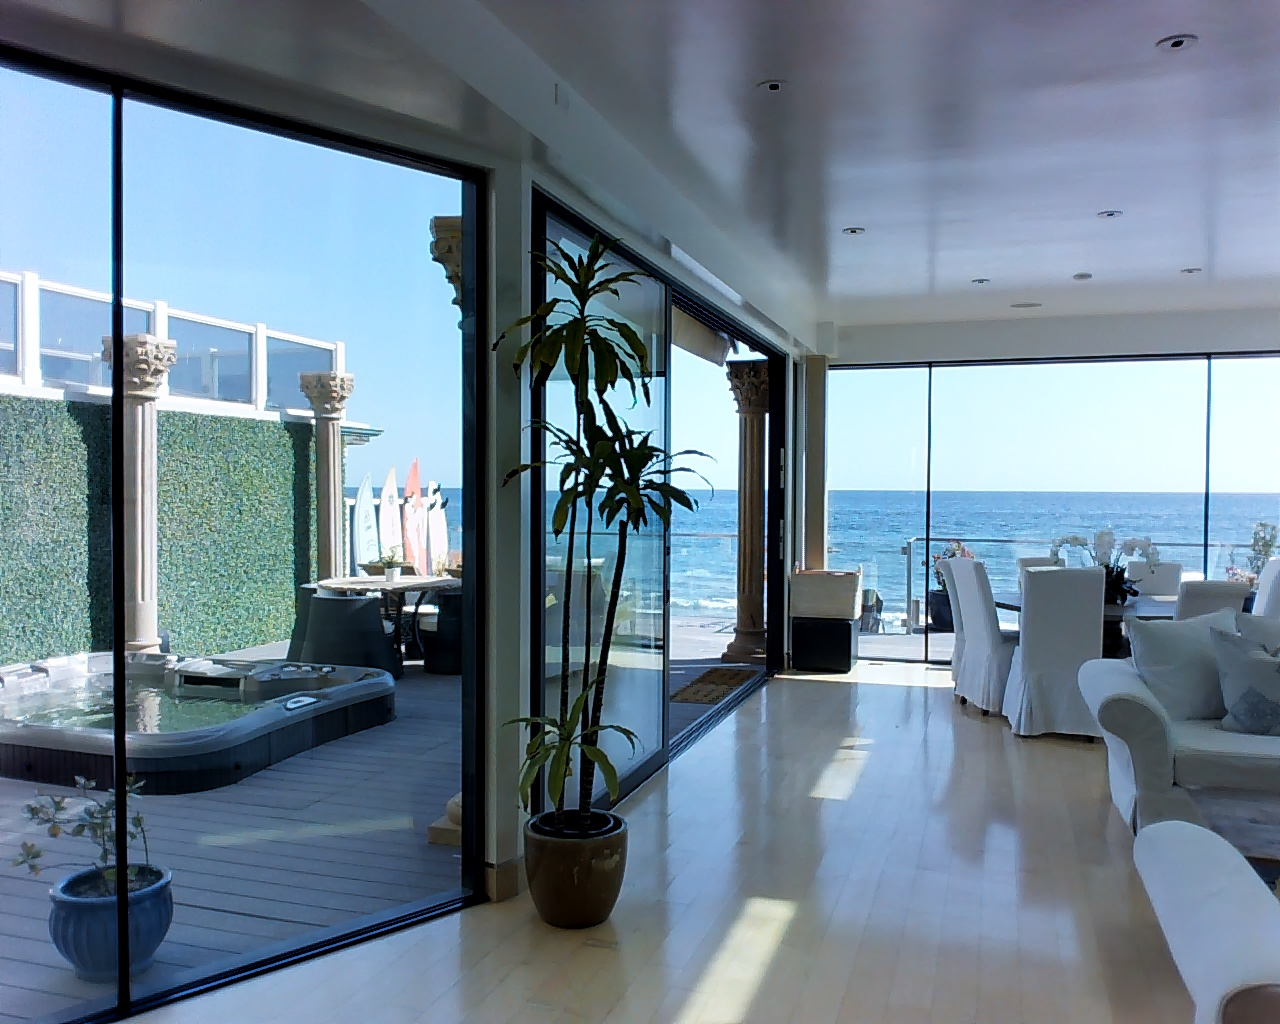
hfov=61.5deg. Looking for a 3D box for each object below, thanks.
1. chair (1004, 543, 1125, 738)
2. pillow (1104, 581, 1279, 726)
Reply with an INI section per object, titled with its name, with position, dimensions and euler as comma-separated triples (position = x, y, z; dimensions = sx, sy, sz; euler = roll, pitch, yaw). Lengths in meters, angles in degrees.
[chair]
position = 2.729, 0.790, 6.990
dimensions = 0.630, 1.110, 0.890
euler = 1, 2, 16
[pillow]
position = 2.659, 0.690, 5.180
dimensions = 0.630, 0.610, 0.370
euler = 3, -17, -4
